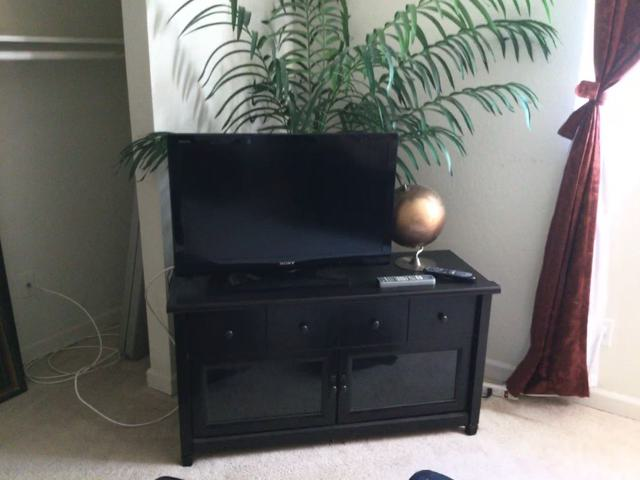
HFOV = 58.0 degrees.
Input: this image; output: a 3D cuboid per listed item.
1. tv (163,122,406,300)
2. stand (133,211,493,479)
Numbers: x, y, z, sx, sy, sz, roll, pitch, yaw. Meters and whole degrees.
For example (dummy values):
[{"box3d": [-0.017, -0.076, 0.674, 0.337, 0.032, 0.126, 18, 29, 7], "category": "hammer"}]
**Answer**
[{"box3d": [-0.110, -0.110, 1.980, 0.750, 0.480, 0.150, -10, 9, -12], "category": "tv"}, {"box3d": [-0.050, 0.350, 2.360, 1.190, 0.670, 0.720, -11, 11, -11], "category": "stand"}]
